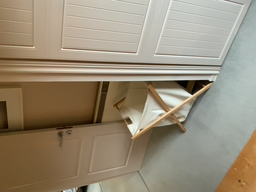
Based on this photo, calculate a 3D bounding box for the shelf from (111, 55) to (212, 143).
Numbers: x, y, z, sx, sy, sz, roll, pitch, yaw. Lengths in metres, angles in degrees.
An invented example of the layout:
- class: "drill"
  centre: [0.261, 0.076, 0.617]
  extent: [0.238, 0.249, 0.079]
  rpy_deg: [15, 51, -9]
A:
- class: "shelf"
  centre: [0.260, 0.000, 1.890]
  extent: [0.480, 0.600, 0.570]
  rpy_deg: [50, 136, 49]

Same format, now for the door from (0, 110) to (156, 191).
- class: "door"
  centre: [-0.740, 0.640, 2.150]
  extent: [0.120, 2.130, 0.900]
  rpy_deg: [50, 135, 49]
